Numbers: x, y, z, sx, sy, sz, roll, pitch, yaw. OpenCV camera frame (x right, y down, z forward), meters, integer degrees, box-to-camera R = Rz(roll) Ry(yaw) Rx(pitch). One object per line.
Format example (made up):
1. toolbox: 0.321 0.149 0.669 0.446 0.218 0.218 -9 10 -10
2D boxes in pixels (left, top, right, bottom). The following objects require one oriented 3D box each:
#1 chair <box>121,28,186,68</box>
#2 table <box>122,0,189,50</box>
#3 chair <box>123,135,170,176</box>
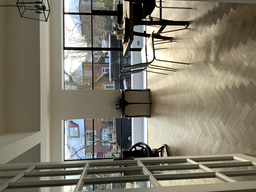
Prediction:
1. chair: 0.340 -0.670 3.080 0.440 0.850 0.470 170 99 -83
2. table: 0.340 -1.700 3.180 0.970 0.790 1.830 -157 67 -83
3. chair: 0.310 1.140 4.030 0.690 0.730 0.610 104 164 -64
